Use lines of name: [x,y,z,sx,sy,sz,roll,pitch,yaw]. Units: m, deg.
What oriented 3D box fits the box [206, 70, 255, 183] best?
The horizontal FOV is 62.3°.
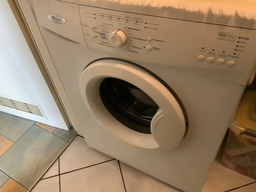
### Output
box: [0.610,0.150,0.980,0.330,0.310,0.360,21,52,24]
